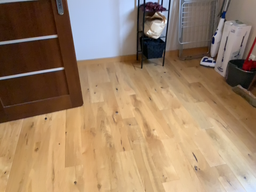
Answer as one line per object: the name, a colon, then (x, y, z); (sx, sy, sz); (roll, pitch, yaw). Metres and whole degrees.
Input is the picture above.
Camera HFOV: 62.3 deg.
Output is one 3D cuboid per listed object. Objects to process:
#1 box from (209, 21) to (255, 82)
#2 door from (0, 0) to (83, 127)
box: (1.250, -0.540, 2.620); (0.250, 0.660, 0.270); (-6, 35, -9)
door: (-0.870, -0.630, 1.510); (0.830, 2.010, 0.110); (-11, 36, -15)
